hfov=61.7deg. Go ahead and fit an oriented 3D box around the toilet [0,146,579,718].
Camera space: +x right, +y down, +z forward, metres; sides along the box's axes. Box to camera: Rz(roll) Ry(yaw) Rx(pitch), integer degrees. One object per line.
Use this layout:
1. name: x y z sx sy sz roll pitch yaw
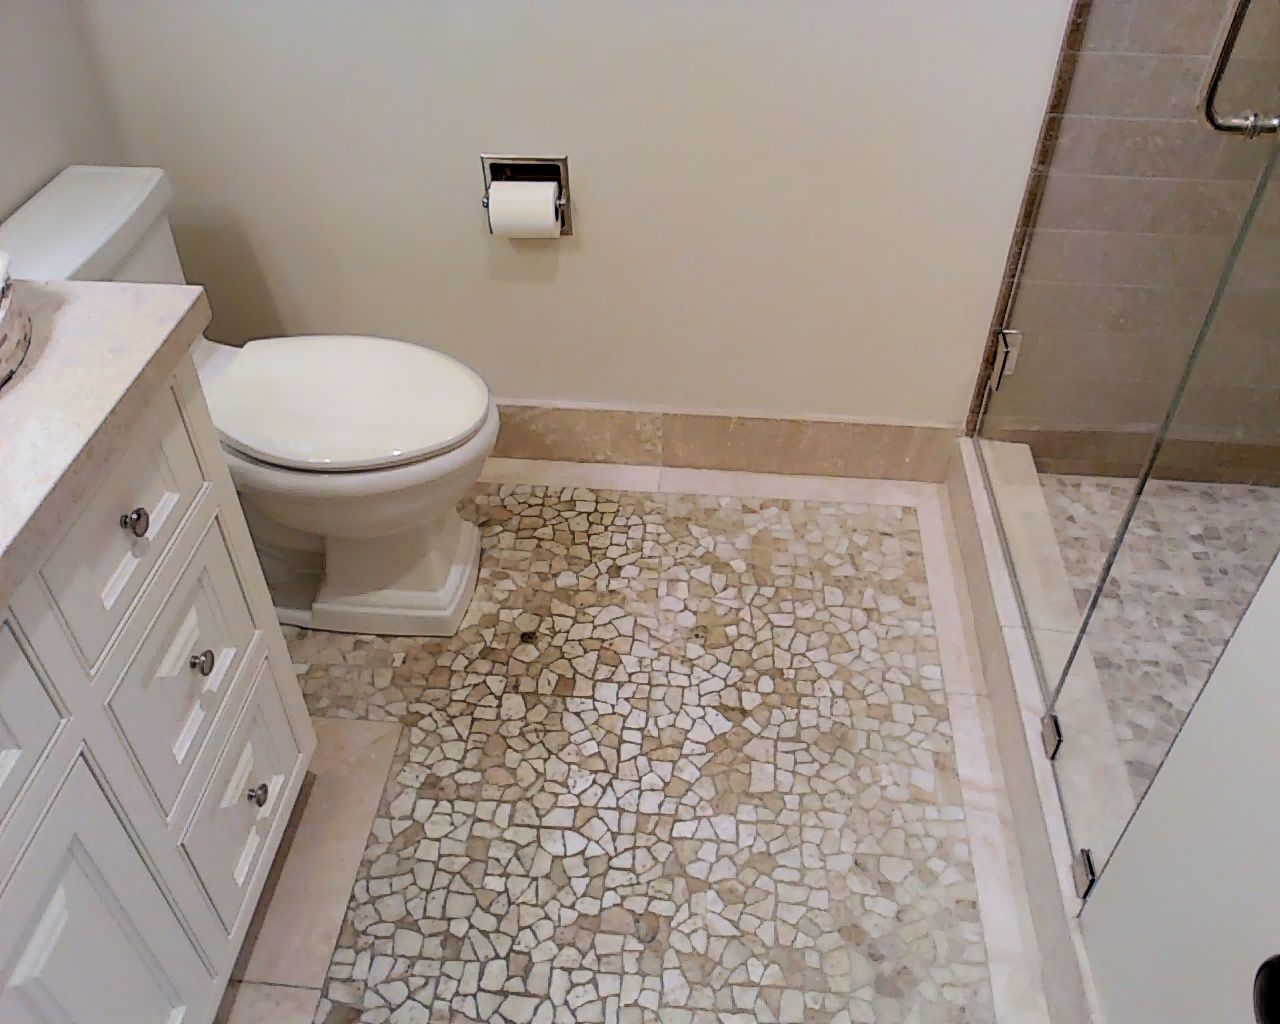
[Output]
1. toilet: -0.570 -0.130 1.860 0.830 0.790 0.530 3 41 4
